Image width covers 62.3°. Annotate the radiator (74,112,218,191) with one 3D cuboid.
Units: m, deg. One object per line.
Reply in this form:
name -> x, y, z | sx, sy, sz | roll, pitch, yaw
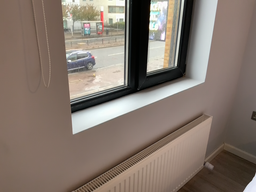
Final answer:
radiator -> 0.220, 0.530, 1.390 | 1.240, 0.530, 0.060 | -18, 29, -39
